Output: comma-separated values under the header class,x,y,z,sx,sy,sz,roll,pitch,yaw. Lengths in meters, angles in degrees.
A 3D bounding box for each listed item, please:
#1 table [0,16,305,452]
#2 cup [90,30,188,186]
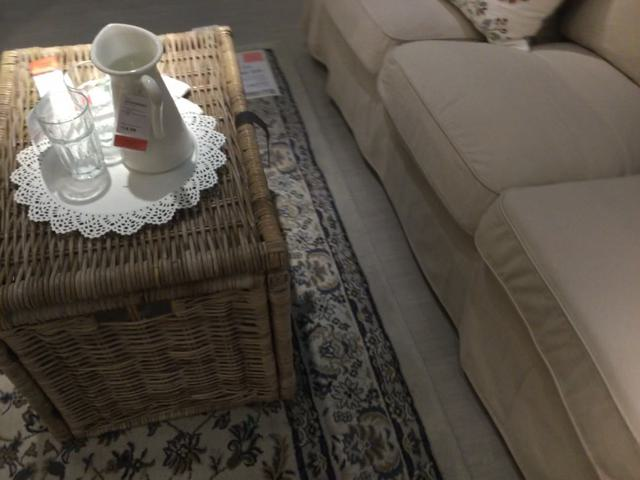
class,x,y,z,sx,sy,sz,roll,pitch,yaw
table,-0.360,-0.040,1.270,0.520,0.520,0.730,-9,50,-8
cup,-0.300,-0.220,0.980,0.110,0.210,0.130,-9,50,-8
